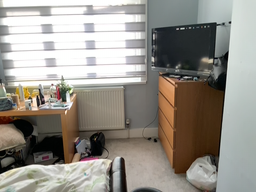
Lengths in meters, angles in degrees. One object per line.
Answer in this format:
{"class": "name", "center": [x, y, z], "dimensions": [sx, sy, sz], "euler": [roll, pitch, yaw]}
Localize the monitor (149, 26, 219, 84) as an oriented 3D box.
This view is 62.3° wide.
{"class": "monitor", "center": [0.540, -0.450, 2.250], "dimensions": [0.060, 0.520, 0.800], "euler": [-11, 18, -38]}
